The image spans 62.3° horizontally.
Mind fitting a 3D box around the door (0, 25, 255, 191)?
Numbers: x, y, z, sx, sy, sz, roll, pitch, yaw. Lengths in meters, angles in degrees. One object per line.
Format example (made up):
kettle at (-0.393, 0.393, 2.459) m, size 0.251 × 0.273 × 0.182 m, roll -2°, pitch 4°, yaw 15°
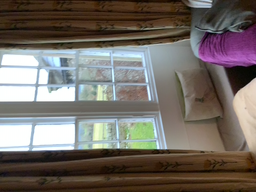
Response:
door at (-0.190, 0.130, 1.810) m, size 0.120 × 2.200 × 1.810 m, roll 110°, pitch 157°, yaw -56°
